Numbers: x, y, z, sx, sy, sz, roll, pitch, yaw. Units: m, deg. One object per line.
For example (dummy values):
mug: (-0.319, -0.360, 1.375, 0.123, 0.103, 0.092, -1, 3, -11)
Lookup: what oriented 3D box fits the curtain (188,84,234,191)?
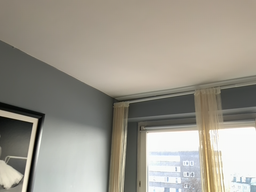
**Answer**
curtain: (0.760, 1.120, 1.790, 0.290, 2.470, 0.280, -8, -21, 27)
